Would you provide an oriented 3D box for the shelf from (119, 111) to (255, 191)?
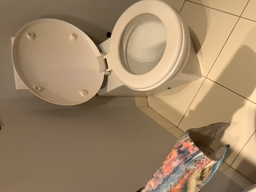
[{"bbox_3d":[0.280,0.200,0.680,0.110,0.760,0.260,39,113,34],"label":"shelf"}]
